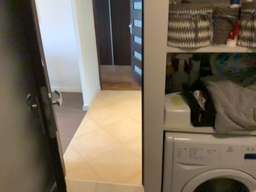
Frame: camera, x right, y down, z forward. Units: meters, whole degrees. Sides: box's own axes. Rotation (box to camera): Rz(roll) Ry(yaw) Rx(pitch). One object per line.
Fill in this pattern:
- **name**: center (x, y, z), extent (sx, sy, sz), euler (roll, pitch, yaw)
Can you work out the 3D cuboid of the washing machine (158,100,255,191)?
- **washing machine**: center (0.500, 0.510, 1.320), extent (0.590, 0.840, 0.440), euler (2, 24, 7)
